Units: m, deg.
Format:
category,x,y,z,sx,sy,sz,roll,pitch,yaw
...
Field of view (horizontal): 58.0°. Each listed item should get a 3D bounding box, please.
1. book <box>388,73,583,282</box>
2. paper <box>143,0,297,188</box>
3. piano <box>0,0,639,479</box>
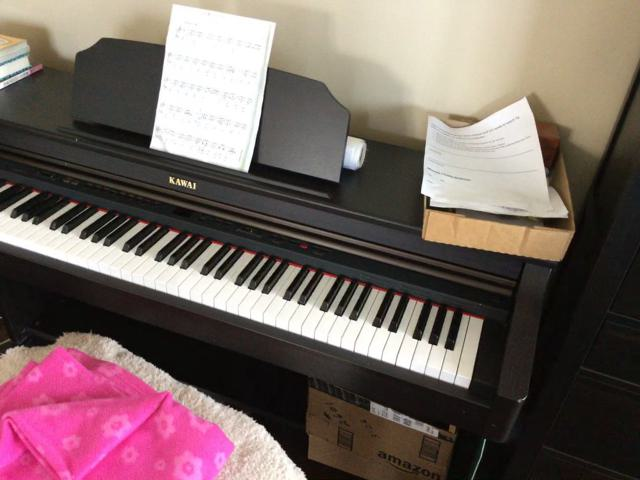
category,x,y,z,sx,sy,sz,roll,pitch,yaw
book,0.300,-0.130,1.020,0.260,0.160,0.350,16,40,13
paper,-0.190,-0.280,1.080,0.220,0.310,0.090,16,16,13
piano,-0.250,0.080,1.280,1.460,1.070,0.510,16,40,13
